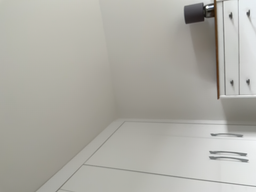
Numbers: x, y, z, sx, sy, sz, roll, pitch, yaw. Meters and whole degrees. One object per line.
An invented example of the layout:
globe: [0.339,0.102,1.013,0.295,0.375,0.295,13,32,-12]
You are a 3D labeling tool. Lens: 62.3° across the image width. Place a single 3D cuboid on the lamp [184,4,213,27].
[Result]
lamp: [0.650,-0.730,1.940,0.180,0.240,0.160,-38,-56,-62]
